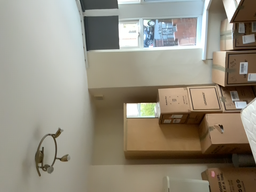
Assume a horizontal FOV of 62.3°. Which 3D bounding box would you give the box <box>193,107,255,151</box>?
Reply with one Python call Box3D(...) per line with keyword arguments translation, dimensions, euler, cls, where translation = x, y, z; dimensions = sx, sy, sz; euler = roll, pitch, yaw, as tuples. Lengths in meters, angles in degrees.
Box3D(translation=(1.430, 0.500, 3.060), dimensions=(0.660, 0.750, 0.450), euler=(86, -177, -65), cls="box")
